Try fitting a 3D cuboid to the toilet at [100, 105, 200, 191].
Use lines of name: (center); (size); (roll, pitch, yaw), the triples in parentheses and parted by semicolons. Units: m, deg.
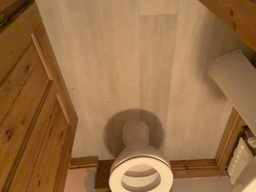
toilet: (0.100, 0.590, 1.290); (0.440, 0.800, 0.690); (-4, 129, -1)
